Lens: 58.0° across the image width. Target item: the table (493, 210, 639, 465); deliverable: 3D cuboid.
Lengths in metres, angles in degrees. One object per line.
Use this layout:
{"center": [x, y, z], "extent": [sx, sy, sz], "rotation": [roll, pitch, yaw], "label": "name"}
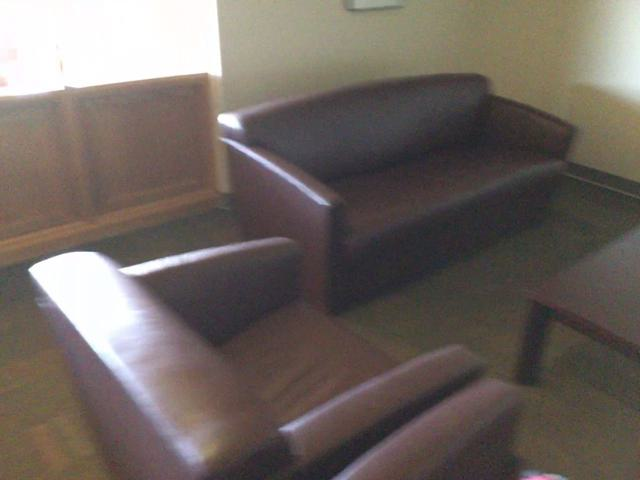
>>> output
{"center": [1.230, 0.260, 1.990], "extent": [1.040, 0.370, 0.670], "rotation": [-20, 35, -31], "label": "table"}
